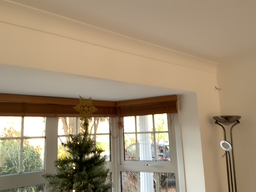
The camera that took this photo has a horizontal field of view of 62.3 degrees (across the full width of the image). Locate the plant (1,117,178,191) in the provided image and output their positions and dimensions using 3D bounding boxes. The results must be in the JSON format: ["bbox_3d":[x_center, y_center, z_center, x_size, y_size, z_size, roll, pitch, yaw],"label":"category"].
[{"bbox_3d":[-0.320,1.080,1.540,1.040,1.770,0.920,5,-11,-33],"label":"plant"}]
